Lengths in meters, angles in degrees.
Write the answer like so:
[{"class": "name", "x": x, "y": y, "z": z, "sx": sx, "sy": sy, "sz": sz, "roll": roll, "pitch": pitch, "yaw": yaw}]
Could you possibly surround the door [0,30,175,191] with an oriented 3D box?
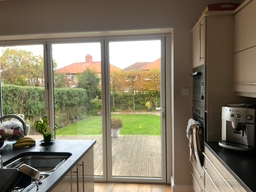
[{"class": "door", "x": -1.540, "y": 0.260, "z": 3.300, "sx": 4.450, "sy": 2.380, "sz": 0.130, "roll": 0, "pitch": 3, "yaw": 4}]
